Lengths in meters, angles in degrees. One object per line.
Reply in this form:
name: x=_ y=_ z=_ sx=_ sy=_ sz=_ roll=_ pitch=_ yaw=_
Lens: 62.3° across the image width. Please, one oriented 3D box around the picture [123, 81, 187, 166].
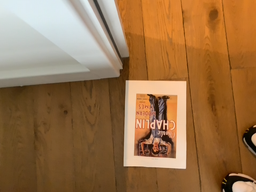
picture: x=0.090 y=0.090 z=0.720 sx=0.210 sy=0.020 sz=0.280 roll=1 pitch=86 yaw=4
